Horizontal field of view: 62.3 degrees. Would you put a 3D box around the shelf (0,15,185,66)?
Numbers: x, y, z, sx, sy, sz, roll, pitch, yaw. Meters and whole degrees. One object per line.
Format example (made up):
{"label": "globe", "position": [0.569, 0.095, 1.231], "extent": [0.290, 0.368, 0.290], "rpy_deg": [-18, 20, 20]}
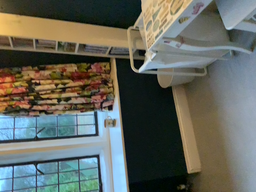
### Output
{"label": "shelf", "position": [-0.440, -0.440, 1.770], "extent": [0.270, 1.980, 0.180], "rpy_deg": [141, 126, -63]}
